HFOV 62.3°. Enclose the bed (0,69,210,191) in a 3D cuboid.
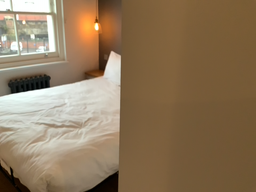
[{"bbox_3d":[-0.320,0.280,2.290,1.510,0.620,2.060,18,25,39],"label":"bed"}]
